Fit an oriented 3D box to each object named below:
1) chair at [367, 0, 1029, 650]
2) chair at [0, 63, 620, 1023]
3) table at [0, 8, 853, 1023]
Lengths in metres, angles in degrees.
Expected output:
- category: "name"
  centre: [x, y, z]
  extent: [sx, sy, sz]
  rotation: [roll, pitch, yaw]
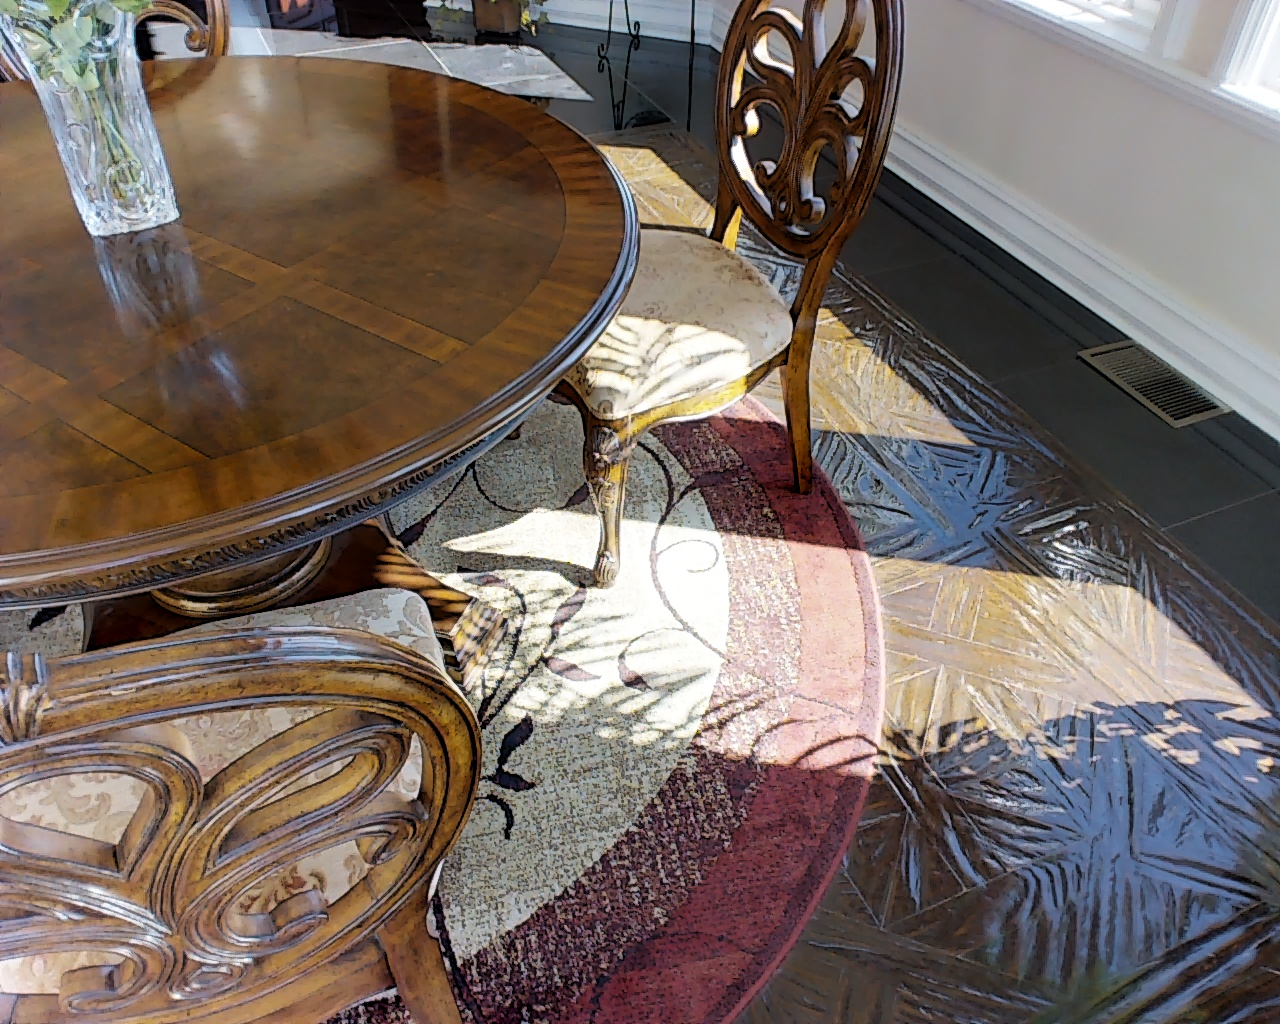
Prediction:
- category: "chair"
  centre: [0.050, -0.490, 1.970]
  extent: [0.760, 1.070, 0.750]
  rotation: [-21, 46, -23]
- category: "chair"
  centre: [-0.500, 0.260, 1.100]
  extent: [0.730, 1.080, 0.770]
  rotation: [-14, 43, -16]
- category: "table"
  centre: [-0.730, -0.130, 1.770]
  extent: [1.480, 0.780, 1.470]
  rotation: [-16, 44, -18]
